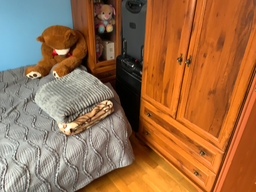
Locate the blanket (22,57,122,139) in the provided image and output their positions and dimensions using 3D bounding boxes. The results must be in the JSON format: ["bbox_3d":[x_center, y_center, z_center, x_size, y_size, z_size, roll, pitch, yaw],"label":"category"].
[{"bbox_3d":[-0.450,-0.040,1.680,0.500,0.260,0.660,-20,37,-34],"label":"blanket"}]
